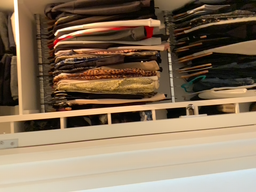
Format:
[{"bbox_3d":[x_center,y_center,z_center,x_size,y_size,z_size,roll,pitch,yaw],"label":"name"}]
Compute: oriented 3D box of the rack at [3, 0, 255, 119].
[{"bbox_3d":[0.230,-1.030,1.610,0.520,2.020,2.220,163,103,-82],"label":"rack"}]
